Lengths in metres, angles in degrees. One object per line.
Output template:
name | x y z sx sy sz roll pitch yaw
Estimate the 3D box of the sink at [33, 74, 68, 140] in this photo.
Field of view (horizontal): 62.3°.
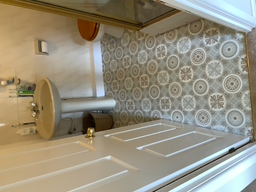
sink | -0.800 0.110 2.150 0.460 0.140 0.600 -6 88 48
